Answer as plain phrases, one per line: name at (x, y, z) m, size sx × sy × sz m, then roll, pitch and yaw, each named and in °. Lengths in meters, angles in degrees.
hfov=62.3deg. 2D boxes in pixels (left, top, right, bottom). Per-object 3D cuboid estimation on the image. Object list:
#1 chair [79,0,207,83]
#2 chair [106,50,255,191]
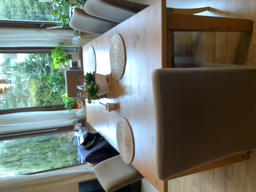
chair at (0.120, -0.460, 1.830) m, size 0.510 × 0.950 × 0.620 m, roll -163°, pitch 70°, yaw -66°
chair at (0.430, 0.050, 1.220) m, size 0.620 × 0.940 × 0.510 m, roll -174°, pitch 81°, yaw -67°
